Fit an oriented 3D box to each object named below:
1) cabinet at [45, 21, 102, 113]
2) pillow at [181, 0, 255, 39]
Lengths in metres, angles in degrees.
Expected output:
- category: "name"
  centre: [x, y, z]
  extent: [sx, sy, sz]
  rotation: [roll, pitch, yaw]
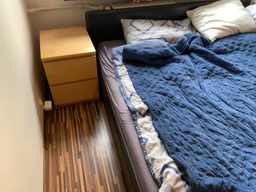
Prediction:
- category: "cabinet"
  centre: [-0.510, -0.290, 1.990]
  extent: [0.390, 0.550, 0.640]
  rotation: [-10, 43, -13]
- category: "pillow"
  centre: [0.910, -0.780, 2.080]
  extent: [0.590, 0.190, 0.480]
  rotation: [-8, 43, -11]
